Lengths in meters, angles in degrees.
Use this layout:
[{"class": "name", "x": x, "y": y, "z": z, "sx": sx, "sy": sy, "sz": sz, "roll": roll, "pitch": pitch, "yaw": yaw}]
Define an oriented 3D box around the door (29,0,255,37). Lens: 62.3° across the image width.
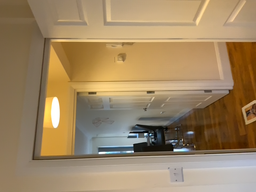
[{"class": "door", "x": 0.430, "y": -0.590, "z": 1.100, "sx": 0.820, "sy": 1.910, "sz": 0.030, "roll": 99, "pitch": 169, "yaw": -66}]
